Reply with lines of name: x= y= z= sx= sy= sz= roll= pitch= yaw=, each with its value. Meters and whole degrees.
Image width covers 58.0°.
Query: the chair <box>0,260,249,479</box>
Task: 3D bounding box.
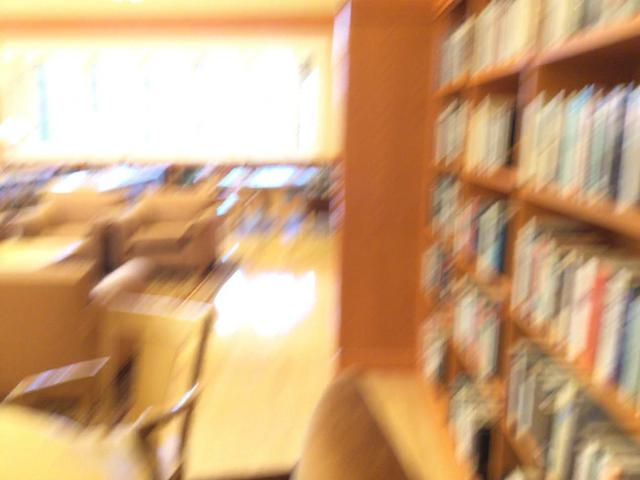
chair: x=-0.710 y=0.650 z=1.890 sx=0.640 sy=0.950 sz=0.840 roll=6 pitch=12 yaw=19
